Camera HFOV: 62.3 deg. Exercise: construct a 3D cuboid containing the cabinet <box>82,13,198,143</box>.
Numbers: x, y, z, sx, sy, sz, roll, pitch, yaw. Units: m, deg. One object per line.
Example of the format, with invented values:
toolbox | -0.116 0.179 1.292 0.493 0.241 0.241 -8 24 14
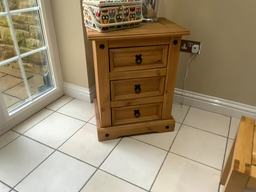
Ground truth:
cabinet | 0.020 -0.150 1.410 0.550 0.660 0.520 -6 32 -13
